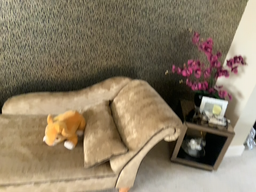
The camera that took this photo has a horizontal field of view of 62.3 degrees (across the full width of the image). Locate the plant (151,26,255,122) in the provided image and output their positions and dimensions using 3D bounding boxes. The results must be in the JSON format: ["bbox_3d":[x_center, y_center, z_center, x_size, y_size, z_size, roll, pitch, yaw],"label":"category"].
[{"bbox_3d":[0.680,-0.190,1.990,0.650,0.730,0.450,3,28,-20],"label":"plant"}]

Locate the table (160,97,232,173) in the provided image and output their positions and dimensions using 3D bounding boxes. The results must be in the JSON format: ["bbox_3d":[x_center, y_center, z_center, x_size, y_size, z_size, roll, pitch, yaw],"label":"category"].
[{"bbox_3d":[0.640,0.380,2.180,0.510,0.460,0.500,13,26,1],"label":"table"}]

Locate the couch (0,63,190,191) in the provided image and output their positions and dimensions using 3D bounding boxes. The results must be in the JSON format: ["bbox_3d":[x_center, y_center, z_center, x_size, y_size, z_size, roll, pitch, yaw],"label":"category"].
[{"bbox_3d":[-0.540,0.260,1.600,1.640,0.710,0.800,2,27,-22],"label":"couch"}]
